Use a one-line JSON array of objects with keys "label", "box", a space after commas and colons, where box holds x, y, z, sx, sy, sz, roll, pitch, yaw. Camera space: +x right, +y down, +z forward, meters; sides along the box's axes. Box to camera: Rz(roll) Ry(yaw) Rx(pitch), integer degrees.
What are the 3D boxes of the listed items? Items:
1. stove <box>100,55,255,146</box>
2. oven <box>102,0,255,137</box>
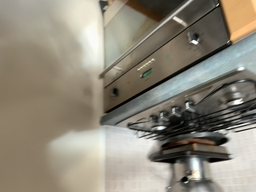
[{"label": "stove", "box": [0.300, 0.100, 0.870, 0.590, 0.060, 0.630, 13, 152, -33]}, {"label": "oven", "box": [0.280, -0.340, 1.060, 0.580, 0.910, 0.630, 13, 152, -33]}]
